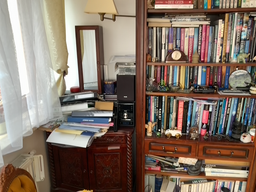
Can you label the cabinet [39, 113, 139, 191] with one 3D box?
[{"bbox_3d":[-0.330,0.630,2.050,0.820,0.790,0.390,2,16,9],"label":"cabinet"}]
